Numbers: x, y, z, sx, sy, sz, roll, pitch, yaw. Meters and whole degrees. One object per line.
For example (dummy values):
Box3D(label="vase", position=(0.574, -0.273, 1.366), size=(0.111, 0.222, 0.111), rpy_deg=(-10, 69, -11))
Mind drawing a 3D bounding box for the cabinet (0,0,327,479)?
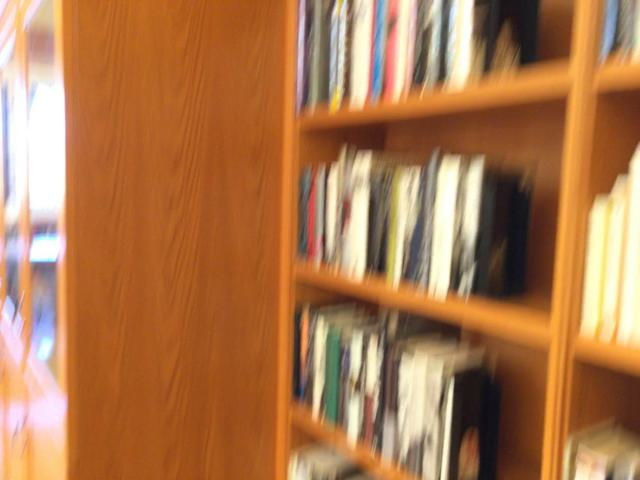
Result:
Box3D(label="cabinet", position=(-0.770, 0.210, 1.990), size=(0.680, 2.240, 1.580), rpy_deg=(2, 5, -34))
